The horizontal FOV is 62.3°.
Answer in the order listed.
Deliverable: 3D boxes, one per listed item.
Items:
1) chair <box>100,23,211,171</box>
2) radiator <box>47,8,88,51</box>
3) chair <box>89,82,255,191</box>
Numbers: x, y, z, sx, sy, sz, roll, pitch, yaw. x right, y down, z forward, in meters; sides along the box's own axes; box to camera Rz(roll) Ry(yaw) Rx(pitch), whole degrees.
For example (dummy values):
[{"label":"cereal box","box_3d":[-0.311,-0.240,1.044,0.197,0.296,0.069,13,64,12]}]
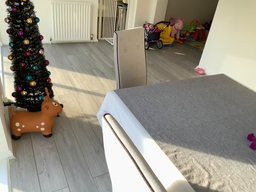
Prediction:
[{"label":"chair","box_3d":[0.180,-0.010,1.860,0.610,1.040,0.490,28,36,29]},{"label":"radiator","box_3d":[-1.150,-1.280,4.110,0.740,0.770,0.090,-9,35,-27]},{"label":"chair","box_3d":[0.190,0.530,0.990,0.620,1.030,0.450,-10,36,-27]}]
